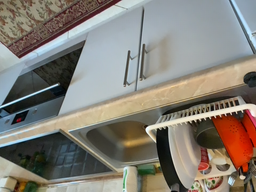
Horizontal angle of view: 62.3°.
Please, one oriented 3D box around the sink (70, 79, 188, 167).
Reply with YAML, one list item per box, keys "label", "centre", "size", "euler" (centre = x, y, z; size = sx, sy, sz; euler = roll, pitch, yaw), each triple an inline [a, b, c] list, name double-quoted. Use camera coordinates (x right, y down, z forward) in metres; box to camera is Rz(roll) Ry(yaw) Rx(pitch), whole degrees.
- label: "sink"
  centre: [0.020, 0.170, 1.090]
  size: [0.440, 0.180, 0.390]
  euler: [-17, 133, 25]
